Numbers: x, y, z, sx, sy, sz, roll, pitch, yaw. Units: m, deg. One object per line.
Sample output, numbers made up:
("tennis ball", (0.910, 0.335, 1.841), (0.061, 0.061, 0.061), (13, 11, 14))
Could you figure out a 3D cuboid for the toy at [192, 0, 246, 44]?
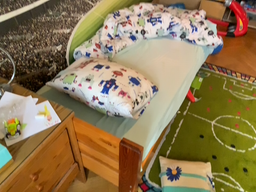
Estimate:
("toy", (1.220, -1.080, 2.860), (0.490, 0.540, 0.320), (23, 49, 19))
